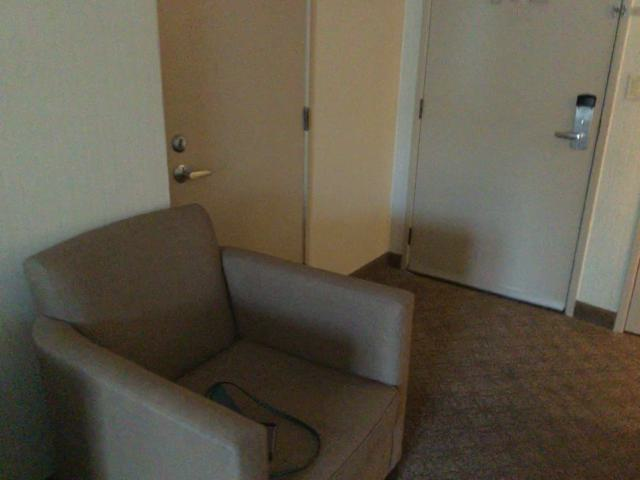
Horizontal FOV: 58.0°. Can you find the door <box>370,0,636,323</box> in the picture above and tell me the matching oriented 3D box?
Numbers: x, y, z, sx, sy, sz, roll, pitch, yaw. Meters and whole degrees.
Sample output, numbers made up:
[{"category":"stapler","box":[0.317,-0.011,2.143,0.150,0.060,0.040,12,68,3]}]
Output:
[{"category":"door","box":[0.850,-0.700,2.880,1.100,2.050,0.250,13,23,30]}]

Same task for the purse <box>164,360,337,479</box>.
[{"category":"purse","box":[-0.160,0.450,1.380,0.300,0.130,0.270,14,23,30]}]

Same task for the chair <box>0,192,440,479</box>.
[{"category":"chair","box":[-0.270,0.420,1.630,0.880,0.820,0.820,14,23,30]}]

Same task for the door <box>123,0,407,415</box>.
[{"category":"door","box":[-0.080,-0.580,2.540,0.140,2.090,1.740,14,23,30]}]
